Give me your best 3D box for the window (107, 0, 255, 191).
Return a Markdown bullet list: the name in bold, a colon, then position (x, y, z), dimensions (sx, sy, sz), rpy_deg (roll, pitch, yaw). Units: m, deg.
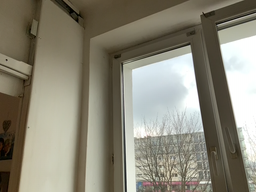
- **window**: position (0.570, 0.310, 1.190), dimensions (1.500, 1.710, 0.170), rpy_deg (-11, -21, 25)
